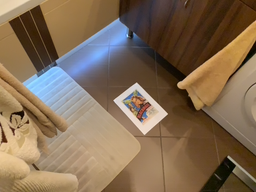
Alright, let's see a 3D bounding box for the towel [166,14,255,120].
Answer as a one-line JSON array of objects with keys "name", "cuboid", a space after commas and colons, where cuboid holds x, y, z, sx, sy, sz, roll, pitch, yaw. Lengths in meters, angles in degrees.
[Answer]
[{"name": "towel", "cuboid": [0.390, -0.090, 1.100, 0.130, 0.640, 0.200, -41, 75, -20]}]
